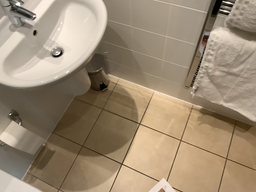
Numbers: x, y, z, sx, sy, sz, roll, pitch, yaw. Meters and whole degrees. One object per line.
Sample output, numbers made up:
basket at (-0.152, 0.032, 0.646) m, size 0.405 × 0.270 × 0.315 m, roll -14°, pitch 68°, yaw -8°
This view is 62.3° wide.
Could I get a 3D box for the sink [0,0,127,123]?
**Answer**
sink at (-0.310, -0.230, 0.920) m, size 0.410 × 0.170 × 0.560 m, roll 20°, pitch 66°, yaw 14°
